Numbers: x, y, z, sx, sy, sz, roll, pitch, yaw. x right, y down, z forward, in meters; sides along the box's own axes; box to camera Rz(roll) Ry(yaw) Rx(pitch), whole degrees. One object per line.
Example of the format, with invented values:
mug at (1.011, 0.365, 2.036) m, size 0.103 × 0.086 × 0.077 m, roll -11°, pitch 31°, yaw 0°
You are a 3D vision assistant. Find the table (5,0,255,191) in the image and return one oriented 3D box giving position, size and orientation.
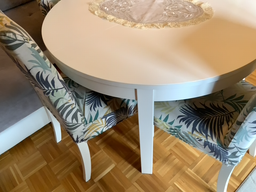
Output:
table at (0.140, -0.210, 1.380) m, size 1.130 × 0.740 × 1.170 m, roll -35°, pitch 53°, yaw -25°

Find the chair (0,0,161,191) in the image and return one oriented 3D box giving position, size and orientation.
chair at (-0.210, -0.050, 1.110) m, size 0.540 × 0.970 × 0.480 m, roll -35°, pitch 53°, yaw -25°

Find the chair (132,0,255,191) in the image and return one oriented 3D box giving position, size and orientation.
chair at (0.410, 0.010, 0.990) m, size 0.540 × 0.980 × 0.500 m, roll 33°, pitch 57°, yaw 31°
